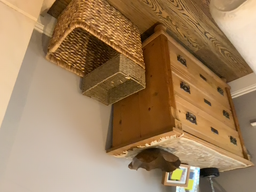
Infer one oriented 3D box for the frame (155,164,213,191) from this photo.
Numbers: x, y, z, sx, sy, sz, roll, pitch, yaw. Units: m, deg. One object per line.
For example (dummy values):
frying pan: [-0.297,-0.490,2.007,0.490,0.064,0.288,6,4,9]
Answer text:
frame: [0.440,0.670,1.660,0.440,0.170,0.200,23,143,-34]
